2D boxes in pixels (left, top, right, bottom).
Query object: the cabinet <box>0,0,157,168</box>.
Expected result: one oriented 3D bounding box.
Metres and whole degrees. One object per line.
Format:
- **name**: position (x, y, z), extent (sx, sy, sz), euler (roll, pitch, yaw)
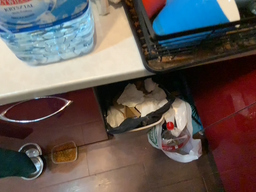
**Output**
- **cabinet**: position (-0.590, 0.090, 0.750), extent (1.200, 0.900, 0.270), euler (-11, 72, -7)
